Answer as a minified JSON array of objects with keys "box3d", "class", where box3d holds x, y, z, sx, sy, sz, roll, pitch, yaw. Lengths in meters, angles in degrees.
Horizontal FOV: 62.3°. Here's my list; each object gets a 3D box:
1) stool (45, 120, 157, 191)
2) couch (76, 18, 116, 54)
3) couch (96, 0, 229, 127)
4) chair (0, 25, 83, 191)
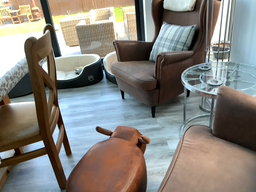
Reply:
[{"box3d":[-0.080,0.460,1.160,0.350,0.370,0.560,5,30,20],"class":"stool"},{"box3d":[-0.620,-1.250,4.370,0.700,0.540,0.630,-6,28,0],"class":"couch"},{"box3d":[0.330,-0.430,2.150,0.930,0.960,0.760,-20,31,-26],"class":"couch"},{"box3d":[-0.670,0.130,1.300,0.590,0.960,0.470,-9,28,-6],"class":"chair"}]
